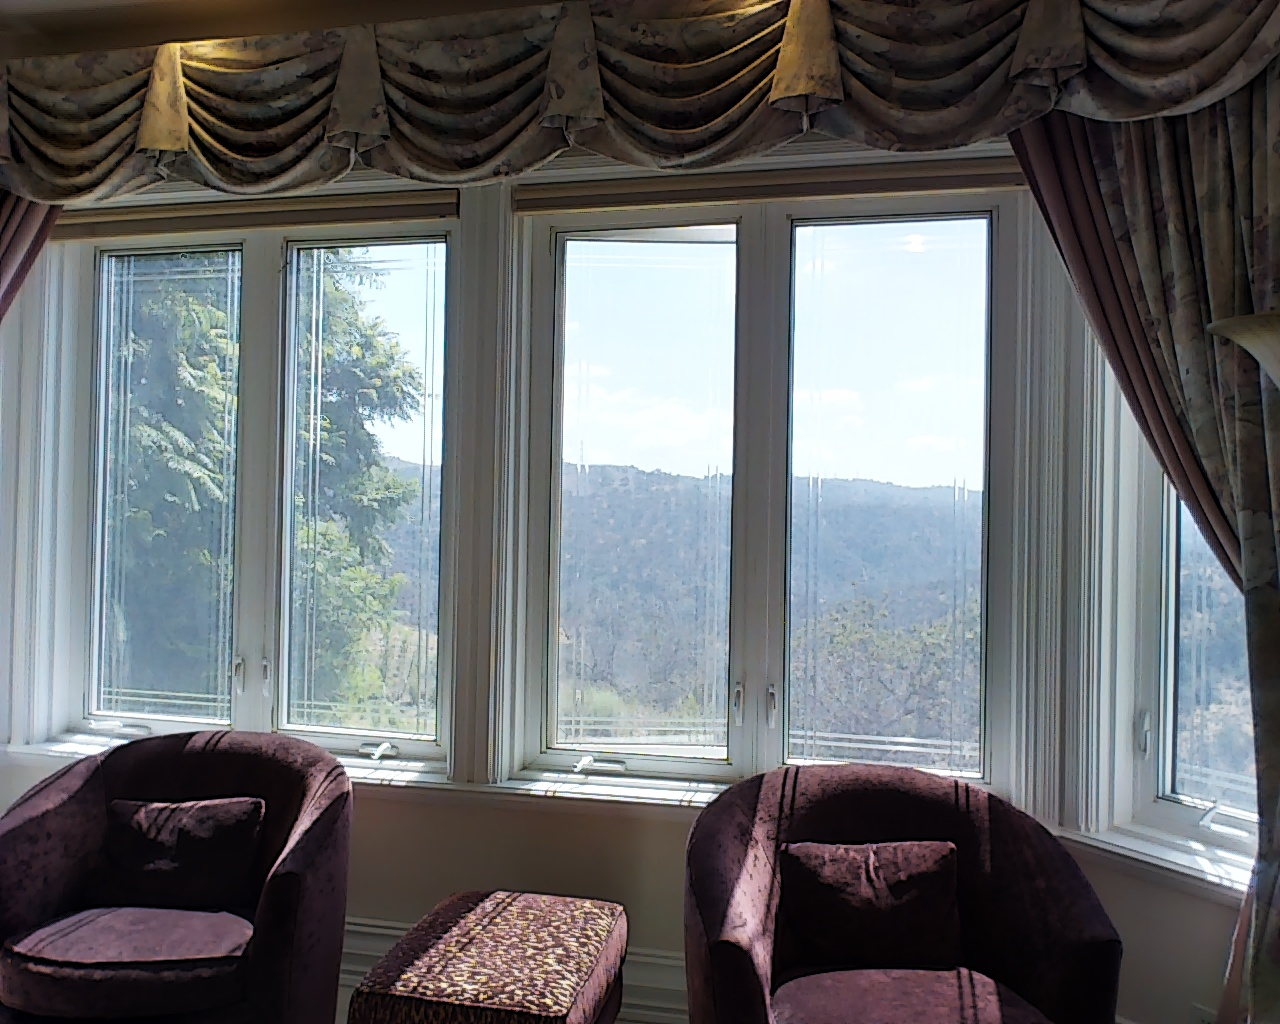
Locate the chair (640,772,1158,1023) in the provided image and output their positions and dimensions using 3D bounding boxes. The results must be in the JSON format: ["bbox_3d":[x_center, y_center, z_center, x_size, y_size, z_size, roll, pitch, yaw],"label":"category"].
[{"bbox_3d":[0.530,1.060,2.330,0.920,0.750,0.740,1,0,13],"label":"chair"}]

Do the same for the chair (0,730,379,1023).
[{"bbox_3d":[-1.210,1.030,2.740,0.840,0.760,0.760,1,0,5],"label":"chair"}]

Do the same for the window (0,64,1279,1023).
[{"bbox_3d":[-0.500,0.210,2.980,3.961,2.450,0.410,1,0,13],"label":"window"}]
